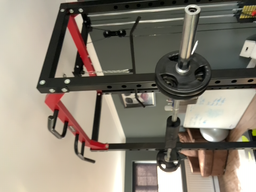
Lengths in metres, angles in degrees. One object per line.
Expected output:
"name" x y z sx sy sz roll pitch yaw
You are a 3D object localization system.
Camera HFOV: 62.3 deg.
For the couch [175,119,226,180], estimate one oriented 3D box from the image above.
"couch" 1.600 1.210 4.910 0.920 0.860 1.000 -82 -11 -57
